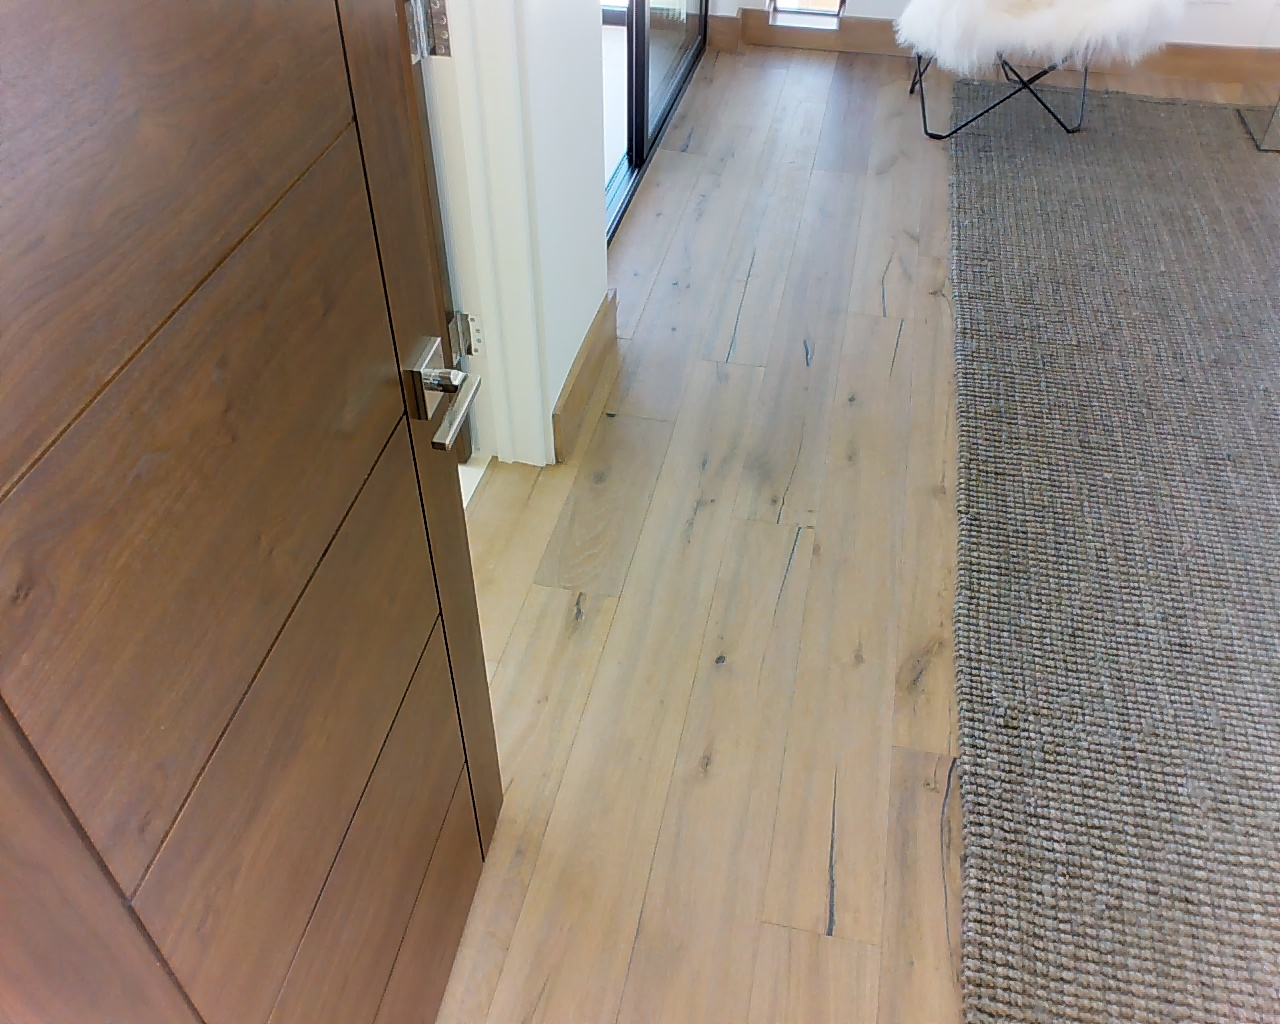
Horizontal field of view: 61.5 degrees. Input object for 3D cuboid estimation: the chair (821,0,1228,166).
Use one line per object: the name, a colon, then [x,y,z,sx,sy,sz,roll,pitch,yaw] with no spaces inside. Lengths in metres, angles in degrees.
chair: [1.300,-1.900,3.730,1.020,0.970,0.980,-4,43,-5]
